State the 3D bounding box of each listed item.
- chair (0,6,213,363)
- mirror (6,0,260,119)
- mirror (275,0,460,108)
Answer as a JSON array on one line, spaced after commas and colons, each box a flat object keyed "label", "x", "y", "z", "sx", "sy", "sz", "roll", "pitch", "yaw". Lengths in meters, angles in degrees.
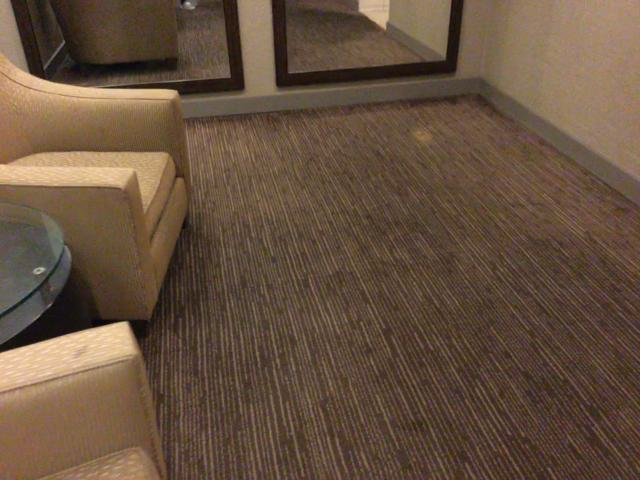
[{"label": "chair", "x": -0.980, "y": -0.230, "z": 2.000, "sx": 0.970, "sy": 0.890, "sz": 0.920, "roll": -2, "pitch": 32, "yaw": 1}, {"label": "mirror", "x": -1.010, "y": -1.310, "z": 3.150, "sx": 1.240, "sy": 1.150, "sz": 0.190, "roll": -8, "pitch": 32, "yaw": -9}, {"label": "mirror", "x": 0.280, "y": -1.410, "z": 3.400, "sx": 1.060, "sy": 1.100, "sz": 0.240, "roll": -9, "pitch": 33, "yaw": -10}]
